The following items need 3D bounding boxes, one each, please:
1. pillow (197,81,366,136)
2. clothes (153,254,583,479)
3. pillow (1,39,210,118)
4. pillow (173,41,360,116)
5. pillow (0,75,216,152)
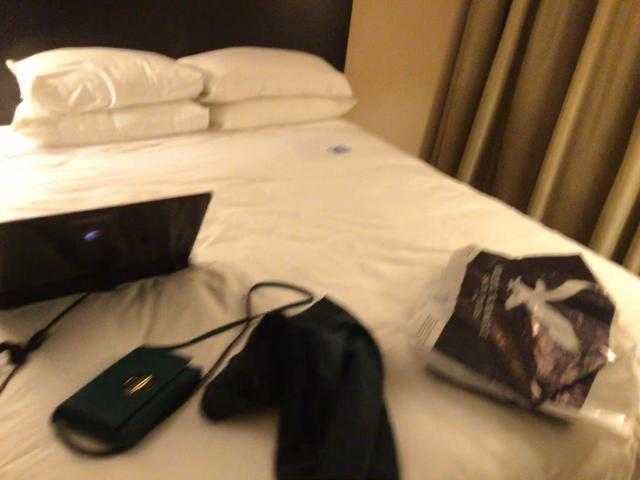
[{"bbox_3d":[-0.150,-0.520,2.260,0.610,0.150,0.230,-7,28,-27],"label":"pillow"},{"bbox_3d":[-0.010,0.390,0.900,0.360,0.510,0.550,-7,28,-27],"label":"clothes"},{"bbox_3d":[-0.750,-0.570,2.030,0.630,0.180,0.380,-7,28,-27],"label":"pillow"},{"bbox_3d":[-0.220,-0.640,2.280,0.620,0.200,0.390,-7,28,-27],"label":"pillow"},{"bbox_3d":[-0.750,-0.460,2.050,0.660,0.160,0.390,-7,28,-27],"label":"pillow"}]
